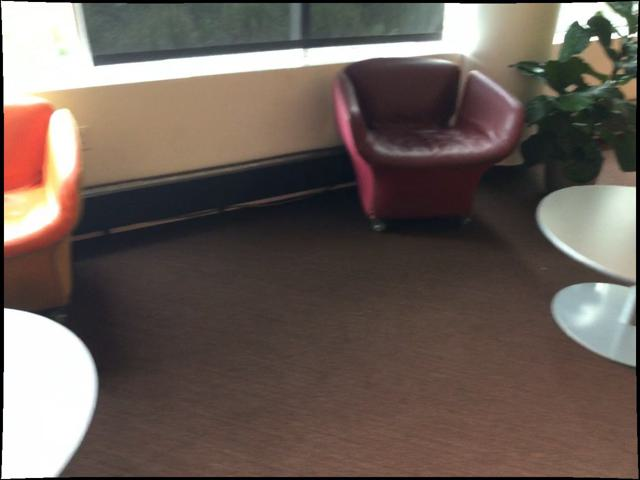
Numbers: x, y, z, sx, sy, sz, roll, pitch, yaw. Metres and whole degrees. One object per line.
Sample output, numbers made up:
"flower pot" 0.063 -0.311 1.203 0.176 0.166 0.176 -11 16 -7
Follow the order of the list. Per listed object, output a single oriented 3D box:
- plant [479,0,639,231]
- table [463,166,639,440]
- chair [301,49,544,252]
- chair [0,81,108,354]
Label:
"plant" 1.506 -0.792 3.050 0.798 1.142 0.790 -10 32 -20
"table" 1.217 0.140 2.190 0.898 0.441 0.910 -10 32 -21
"chair" 0.419 -0.501 2.980 0.948 0.731 0.931 -1 30 -6
"chair" -1.407 -0.120 2.330 0.918 0.771 0.920 -6 31 -15
